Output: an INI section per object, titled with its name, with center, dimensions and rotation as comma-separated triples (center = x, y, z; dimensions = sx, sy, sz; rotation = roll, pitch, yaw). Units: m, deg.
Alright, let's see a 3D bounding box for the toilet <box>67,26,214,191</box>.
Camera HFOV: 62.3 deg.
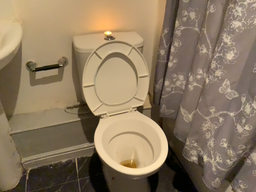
[toilet]
center = -0.020, 0.120, 1.190
dimensions = 0.450, 0.790, 0.680
rotation = -10, 36, -16
